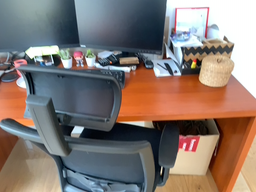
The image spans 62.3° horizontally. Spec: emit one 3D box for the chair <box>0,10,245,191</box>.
[{"bbox_3d":[-0.070,0.260,1.020,0.700,1.100,0.750,7,34,10],"label":"chair"}]

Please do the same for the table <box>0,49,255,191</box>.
[{"bbox_3d":[-0.180,0.190,1.440,1.620,0.750,0.760,-2,33,-2],"label":"table"}]
